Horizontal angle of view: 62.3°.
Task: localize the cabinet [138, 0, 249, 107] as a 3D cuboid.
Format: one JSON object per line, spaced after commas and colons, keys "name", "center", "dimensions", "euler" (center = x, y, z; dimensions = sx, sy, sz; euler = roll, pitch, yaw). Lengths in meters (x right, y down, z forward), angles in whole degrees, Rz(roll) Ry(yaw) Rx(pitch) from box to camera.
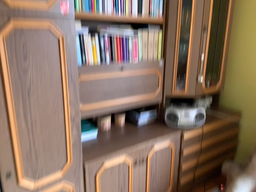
{"name": "cabinet", "center": [0.660, -0.660, 2.160], "dimensions": [0.920, 1.310, 0.560], "euler": [-9, 18, -33]}
